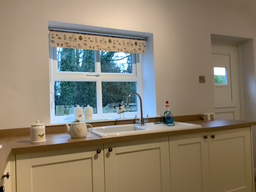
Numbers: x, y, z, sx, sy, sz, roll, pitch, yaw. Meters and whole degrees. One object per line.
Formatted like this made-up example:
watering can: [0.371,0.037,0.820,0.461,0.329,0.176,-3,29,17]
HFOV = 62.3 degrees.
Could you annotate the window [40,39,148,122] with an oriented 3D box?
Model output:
window: [-0.370,-0.190,2.620,1.310,0.910,0.090,-2,-1,-23]

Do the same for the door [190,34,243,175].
door: [1.390,0.110,3.290,0.890,2.040,0.090,-2,-1,-24]
